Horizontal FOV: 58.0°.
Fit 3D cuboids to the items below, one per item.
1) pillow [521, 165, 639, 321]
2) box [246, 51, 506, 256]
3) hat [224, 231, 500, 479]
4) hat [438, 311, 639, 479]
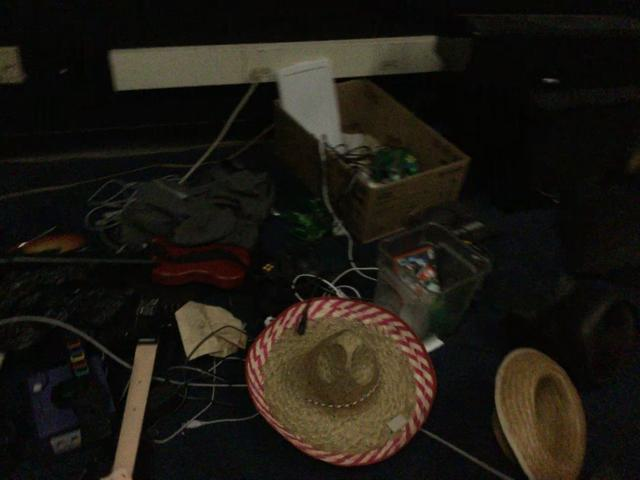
[{"bbox_3d":[1.000,-0.020,1.810,0.500,0.150,0.500,-7,42,-15],"label":"pillow"},{"bbox_3d":[0.130,-0.320,1.910,0.640,0.350,0.610,-7,42,-15],"label":"box"},{"bbox_3d":[0.060,0.250,1.410,0.500,0.200,0.530,-7,42,-15],"label":"hat"},{"bbox_3d":[0.480,0.370,1.300,0.270,0.180,0.350,-7,42,-15],"label":"hat"}]
